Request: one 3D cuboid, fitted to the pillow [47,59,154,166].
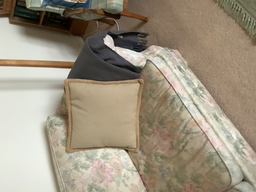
[{"bbox_3d":[-0.150,0.090,1.260,0.430,0.450,0.170,61,170,-22],"label":"pillow"}]
